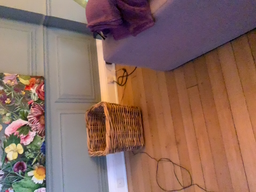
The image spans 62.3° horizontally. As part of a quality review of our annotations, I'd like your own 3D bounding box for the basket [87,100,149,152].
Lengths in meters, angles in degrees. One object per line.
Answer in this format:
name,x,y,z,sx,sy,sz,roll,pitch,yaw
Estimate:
basket,-0.120,0.320,2.220,0.450,0.440,0.450,-25,68,54
